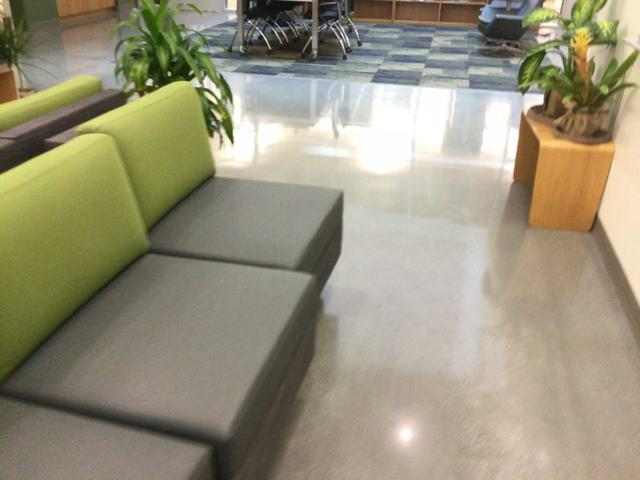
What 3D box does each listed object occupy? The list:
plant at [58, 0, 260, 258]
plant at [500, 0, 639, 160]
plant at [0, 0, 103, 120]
[{"bbox_3d":[-0.680,-0.600,2.720,0.600,1.140,0.620,8,29,11],"label":"plant"},{"bbox_3d":[1.180,-0.870,2.710,0.510,0.710,0.760,8,30,11],"label":"plant"},{"bbox_3d":[-1.990,-1.330,4.130,0.510,0.760,0.530,8,30,11],"label":"plant"}]
